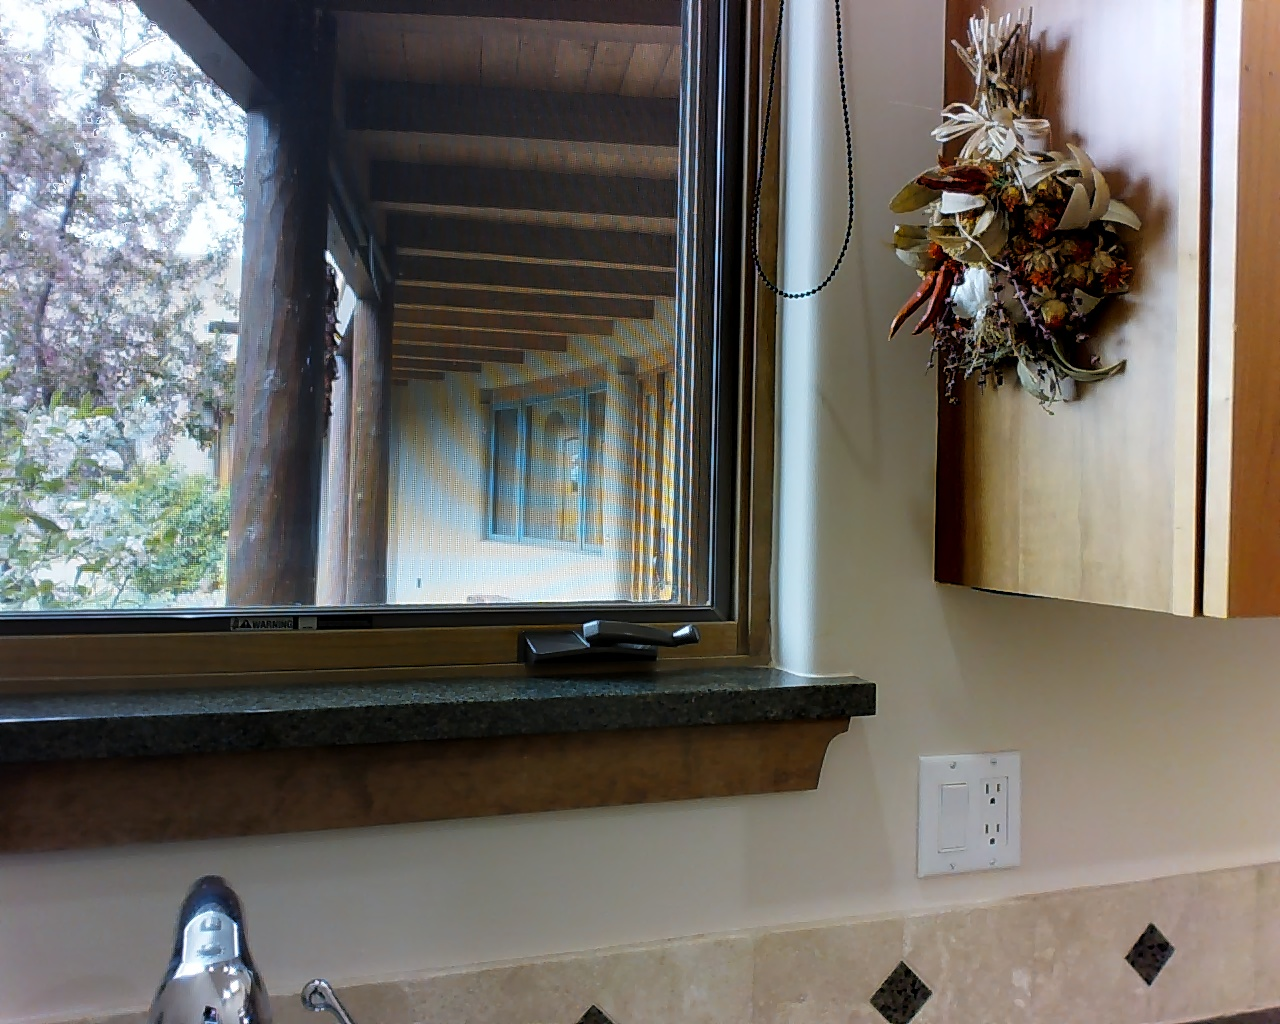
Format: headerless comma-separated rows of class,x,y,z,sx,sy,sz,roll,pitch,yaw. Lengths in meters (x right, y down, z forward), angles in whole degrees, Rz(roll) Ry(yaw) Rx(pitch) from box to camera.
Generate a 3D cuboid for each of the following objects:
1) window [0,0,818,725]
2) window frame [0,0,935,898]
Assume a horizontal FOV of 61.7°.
window,-0.260,-0.410,0.890,0.850,1.130,0.120,1,0,-20
window frame,-0.260,-0.480,0.850,1.030,1.470,0.190,1,0,-20
